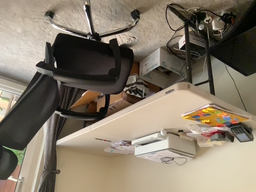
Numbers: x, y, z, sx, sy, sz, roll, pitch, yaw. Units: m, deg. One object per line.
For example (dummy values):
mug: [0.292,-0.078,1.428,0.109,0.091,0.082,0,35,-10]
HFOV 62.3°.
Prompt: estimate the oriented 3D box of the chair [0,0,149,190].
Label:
chair: [-0.310,-0.020,1.410,0.790,1.120,0.820,4,154,0]
